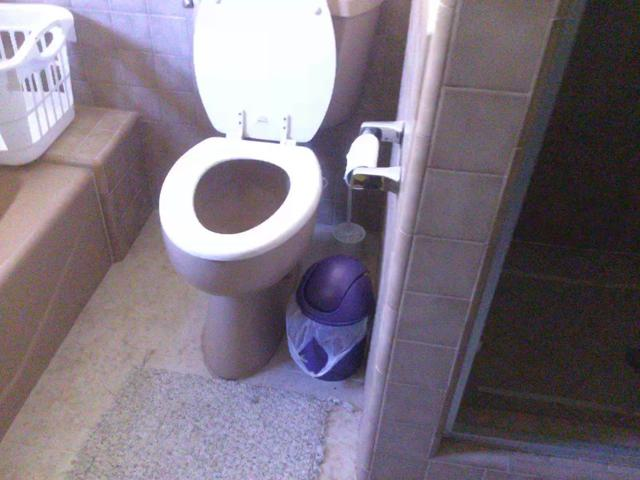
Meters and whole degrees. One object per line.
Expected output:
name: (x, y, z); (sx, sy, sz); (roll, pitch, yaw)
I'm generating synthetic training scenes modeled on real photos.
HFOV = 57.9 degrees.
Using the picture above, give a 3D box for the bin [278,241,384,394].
bin: (0.030, 0.190, 1.400); (0.220, 0.310, 0.190); (5, 41, 5)

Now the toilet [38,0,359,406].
toilet: (-0.160, -0.190, 1.390); (0.430, 0.890, 0.720); (5, 41, 5)

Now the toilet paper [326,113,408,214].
toilet paper: (0.080, -0.130, 0.950); (0.120, 0.070, 0.180); (4, 41, 5)
